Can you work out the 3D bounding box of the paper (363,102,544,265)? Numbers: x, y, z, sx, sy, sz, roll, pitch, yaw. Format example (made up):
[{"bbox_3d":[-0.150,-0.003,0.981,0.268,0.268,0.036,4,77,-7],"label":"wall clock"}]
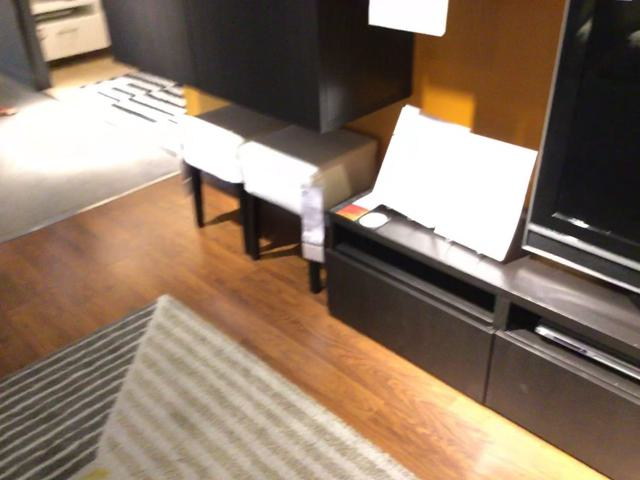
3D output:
[{"bbox_3d":[0.350,-0.170,1.600,0.110,0.300,0.490,-35,43,-29],"label":"paper"}]
